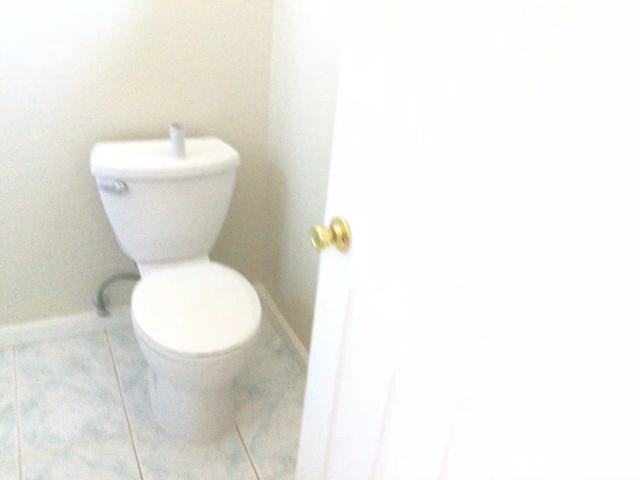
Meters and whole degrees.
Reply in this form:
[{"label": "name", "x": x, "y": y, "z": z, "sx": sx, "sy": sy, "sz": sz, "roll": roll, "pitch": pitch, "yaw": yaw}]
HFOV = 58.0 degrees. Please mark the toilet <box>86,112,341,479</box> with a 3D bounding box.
[{"label": "toilet", "x": -0.370, "y": 0.110, "z": 1.760, "sx": 0.520, "sy": 0.810, "sz": 0.700, "roll": -7, "pitch": 30, "yaw": -24}]
